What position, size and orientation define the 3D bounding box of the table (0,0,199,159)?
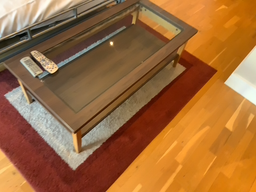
[{"bbox_3d":[-0.120,-0.240,1.570,0.610,0.440,1.200,40,58,17],"label":"table"}]
